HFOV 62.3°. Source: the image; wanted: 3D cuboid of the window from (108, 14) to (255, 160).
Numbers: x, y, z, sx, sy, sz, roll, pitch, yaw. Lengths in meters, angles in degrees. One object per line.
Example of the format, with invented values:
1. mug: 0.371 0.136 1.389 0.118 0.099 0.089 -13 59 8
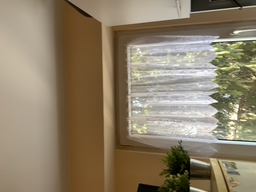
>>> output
1. window: 0.610 -0.050 1.320 0.170 1.490 0.830 -18 -72 -72

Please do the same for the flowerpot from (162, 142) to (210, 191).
1. flowerpot: 0.300 0.370 1.100 0.160 0.220 0.200 -15 -74 -73
